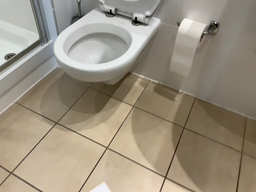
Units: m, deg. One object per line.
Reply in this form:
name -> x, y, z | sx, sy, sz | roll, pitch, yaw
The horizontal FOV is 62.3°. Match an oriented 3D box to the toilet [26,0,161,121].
toilet -> -0.120, -0.390, 1.020 | 0.390, 0.810, 0.520 | 22, 46, 15
